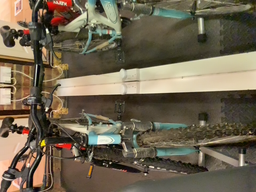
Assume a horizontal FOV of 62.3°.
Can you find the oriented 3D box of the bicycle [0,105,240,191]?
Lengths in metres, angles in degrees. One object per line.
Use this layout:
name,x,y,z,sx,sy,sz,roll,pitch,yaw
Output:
bicycle,-0.300,0.300,1.450,1.750,0.740,0.420,0,89,43
